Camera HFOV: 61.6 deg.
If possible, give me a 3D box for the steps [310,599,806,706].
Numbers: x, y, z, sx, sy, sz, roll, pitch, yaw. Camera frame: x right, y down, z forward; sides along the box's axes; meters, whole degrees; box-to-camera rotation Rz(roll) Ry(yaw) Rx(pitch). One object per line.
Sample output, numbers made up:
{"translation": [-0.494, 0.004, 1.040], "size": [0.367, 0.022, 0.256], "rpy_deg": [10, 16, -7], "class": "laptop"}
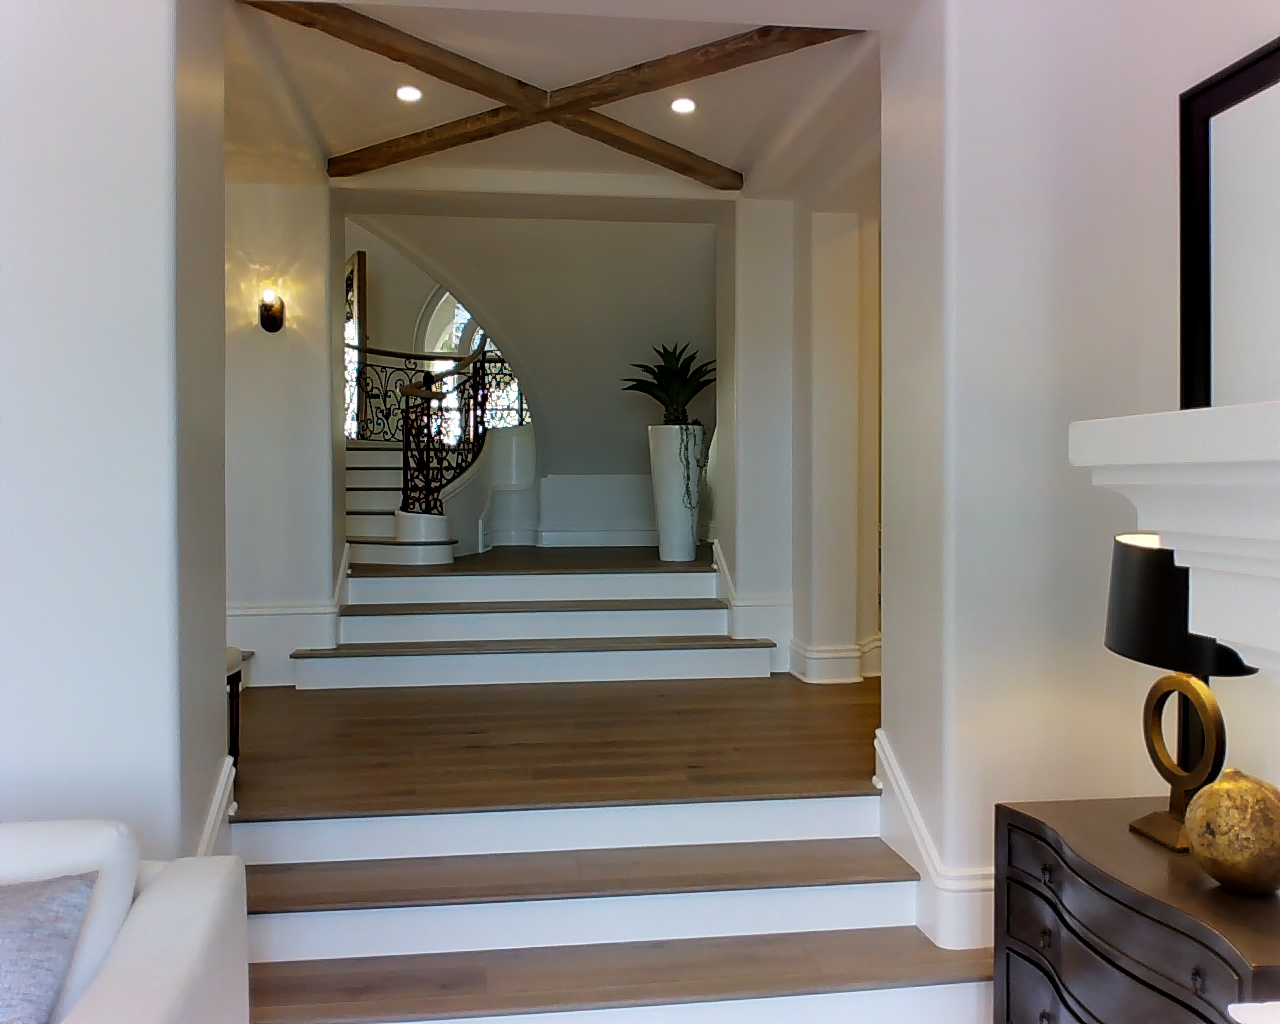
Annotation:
{"translation": [-0.440, 0.770, 6.060], "size": [2.659, 0.460, 0.590], "rpy_deg": [0, 1, -7], "class": "steps"}
